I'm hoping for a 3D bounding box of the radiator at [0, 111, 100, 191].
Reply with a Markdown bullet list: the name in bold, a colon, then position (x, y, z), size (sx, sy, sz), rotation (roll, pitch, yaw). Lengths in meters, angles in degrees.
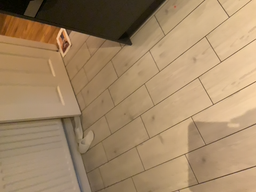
- **radiator**: position (-0.550, 0.820, 1.650), size (0.070, 0.760, 1.490), rotation (-38, 66, 37)
